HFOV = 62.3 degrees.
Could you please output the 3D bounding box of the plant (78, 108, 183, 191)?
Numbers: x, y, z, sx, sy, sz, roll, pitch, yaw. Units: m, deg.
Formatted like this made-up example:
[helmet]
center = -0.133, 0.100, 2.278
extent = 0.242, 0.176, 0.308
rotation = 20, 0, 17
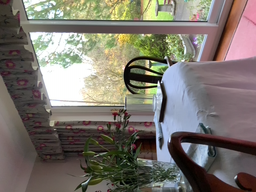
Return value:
[plant]
center = 0.000, 0.310, 1.050
extent = 0.270, 0.400, 0.430
rotation = -93, 5, -52
